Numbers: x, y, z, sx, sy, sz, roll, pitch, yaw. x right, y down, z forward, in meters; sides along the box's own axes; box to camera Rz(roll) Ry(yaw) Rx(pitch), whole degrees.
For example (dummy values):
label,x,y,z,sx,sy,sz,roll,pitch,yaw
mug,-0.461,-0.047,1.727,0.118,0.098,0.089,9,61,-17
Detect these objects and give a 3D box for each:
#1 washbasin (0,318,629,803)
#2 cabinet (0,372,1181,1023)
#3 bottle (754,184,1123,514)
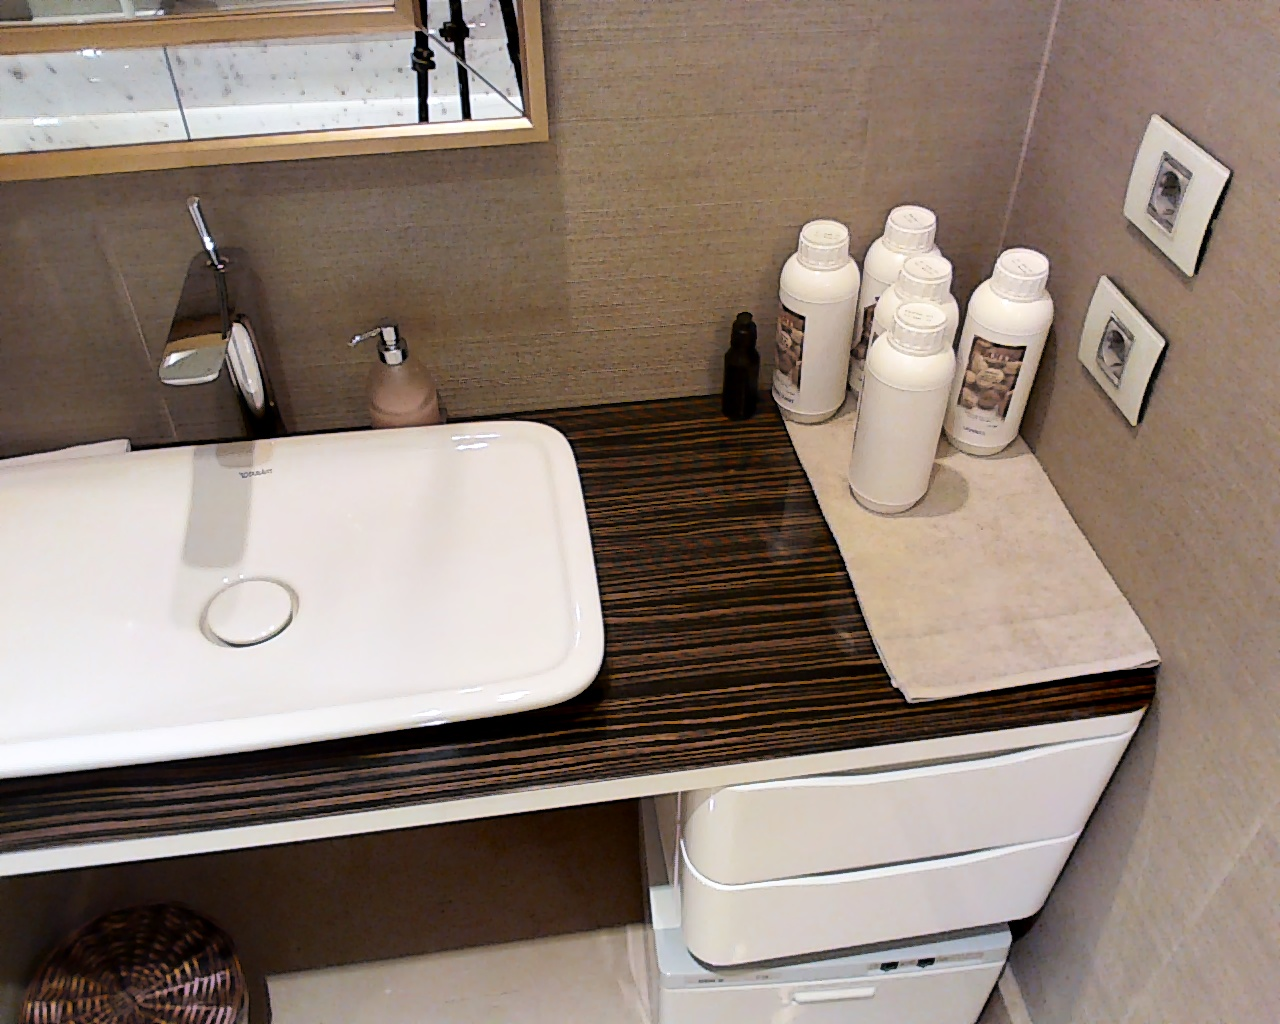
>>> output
label,x,y,z,sx,sy,sz,roll,pitch,yaw
washbasin,-0.420,0.020,1.110,0.750,0.130,0.510,-6,42,-7
cabinet,-0.180,0.360,1.440,1.330,0.810,0.560,-5,42,-7
bottle,0.310,-0.190,1.220,0.290,0.240,0.270,-5,42,-7
